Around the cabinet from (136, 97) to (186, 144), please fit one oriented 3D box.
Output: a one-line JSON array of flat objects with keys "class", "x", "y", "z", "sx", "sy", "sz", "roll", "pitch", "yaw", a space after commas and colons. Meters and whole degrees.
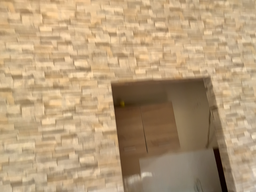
[{"class": "cabinet", "x": 0.400, "y": 0.320, "z": 2.690, "sx": 0.480, "sy": 0.500, "sz": 0.320, "roll": -6, "pitch": -12, "yaw": -8}]
